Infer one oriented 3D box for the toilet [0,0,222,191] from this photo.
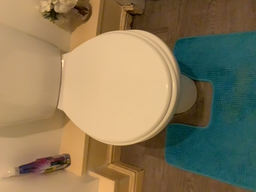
[{"bbox_3d":[-0.120,-0.020,0.760,0.640,0.750,0.370,8,91,37],"label":"toilet"}]
